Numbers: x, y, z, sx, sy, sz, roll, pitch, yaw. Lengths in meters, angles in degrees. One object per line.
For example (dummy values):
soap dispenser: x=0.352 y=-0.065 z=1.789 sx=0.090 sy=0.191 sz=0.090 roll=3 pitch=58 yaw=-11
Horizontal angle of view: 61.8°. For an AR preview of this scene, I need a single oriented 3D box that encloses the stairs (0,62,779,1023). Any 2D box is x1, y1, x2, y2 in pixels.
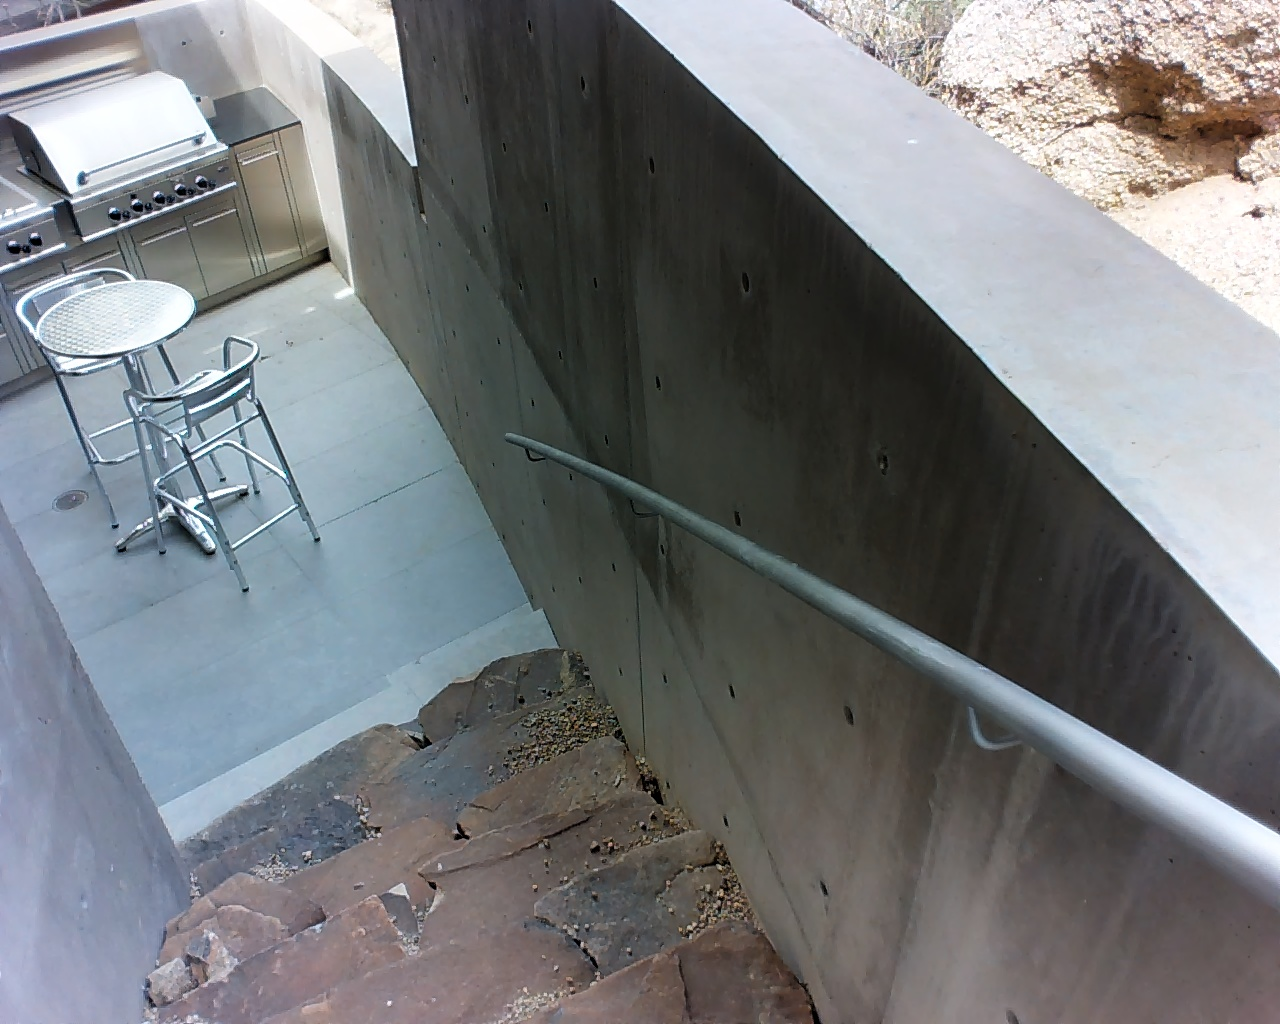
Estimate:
stairs: x=-0.590 y=1.010 z=2.030 sx=1.510 sy=0.810 sz=3.831 roll=-10 pitch=72 yaw=-14
